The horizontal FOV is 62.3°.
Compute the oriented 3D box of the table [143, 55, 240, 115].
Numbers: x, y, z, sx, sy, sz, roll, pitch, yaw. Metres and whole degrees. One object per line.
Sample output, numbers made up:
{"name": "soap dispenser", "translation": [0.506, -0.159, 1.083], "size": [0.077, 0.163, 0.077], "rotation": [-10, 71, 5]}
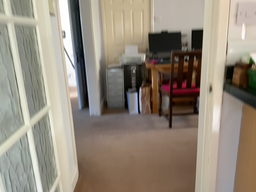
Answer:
{"name": "table", "translation": [0.920, -0.220, 3.450], "size": [1.270, 0.750, 0.860], "rotation": [-3, 16, 0]}
